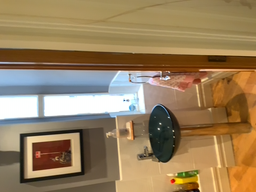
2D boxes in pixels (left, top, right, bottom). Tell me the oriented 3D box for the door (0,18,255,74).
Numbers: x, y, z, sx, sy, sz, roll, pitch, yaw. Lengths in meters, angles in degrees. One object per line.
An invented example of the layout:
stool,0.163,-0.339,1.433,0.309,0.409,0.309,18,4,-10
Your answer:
door,0.200,-0.180,1.090,0.820,2.130,0.110,-165,74,-72
